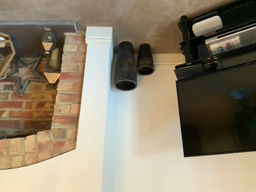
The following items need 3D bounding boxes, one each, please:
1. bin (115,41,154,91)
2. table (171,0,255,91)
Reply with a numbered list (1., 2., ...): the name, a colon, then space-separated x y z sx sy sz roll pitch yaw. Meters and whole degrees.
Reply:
1. bin: 0.050 -0.270 1.910 0.320 0.400 0.200 0 155 -1
2. table: 0.820 -0.420 1.590 0.850 0.450 0.400 -15 152 29
